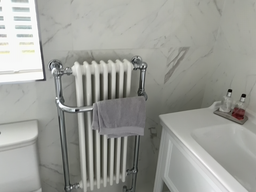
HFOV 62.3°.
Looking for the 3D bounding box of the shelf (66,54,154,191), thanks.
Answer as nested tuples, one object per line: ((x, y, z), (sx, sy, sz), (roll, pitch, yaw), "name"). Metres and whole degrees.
((-0.130, 0.260, 1.340), (0.410, 0.980, 0.270), (-6, 27, -20), "shelf")
